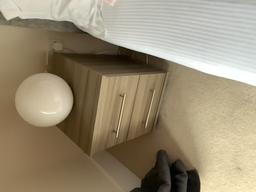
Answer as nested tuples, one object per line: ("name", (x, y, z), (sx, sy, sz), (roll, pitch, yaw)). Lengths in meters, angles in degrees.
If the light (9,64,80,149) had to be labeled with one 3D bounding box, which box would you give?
("light", (-0.390, 0.030, 0.970), (0.230, 0.210, 0.290), (29, 116, 37))
